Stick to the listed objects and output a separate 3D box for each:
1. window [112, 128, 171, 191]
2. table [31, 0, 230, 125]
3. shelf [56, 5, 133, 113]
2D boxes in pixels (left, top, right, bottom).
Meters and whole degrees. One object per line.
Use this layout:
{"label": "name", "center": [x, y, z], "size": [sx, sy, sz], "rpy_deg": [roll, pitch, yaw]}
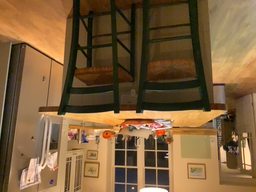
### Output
{"label": "window", "center": [0.320, 1.690, 5.320], "size": [1.440, 1.760, 0.130], "rpy_deg": [-2, 169, 13]}
{"label": "table", "center": [0.210, -0.190, 2.440], "size": [1.290, 0.940, 2.140], "rpy_deg": [-2, 169, 14]}
{"label": "shelf", "center": [-0.280, -0.310, 1.910], "size": [0.620, 0.890, 0.210], "rpy_deg": [-2, 169, 14]}
